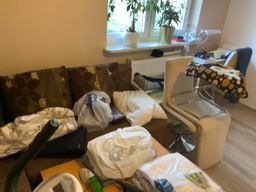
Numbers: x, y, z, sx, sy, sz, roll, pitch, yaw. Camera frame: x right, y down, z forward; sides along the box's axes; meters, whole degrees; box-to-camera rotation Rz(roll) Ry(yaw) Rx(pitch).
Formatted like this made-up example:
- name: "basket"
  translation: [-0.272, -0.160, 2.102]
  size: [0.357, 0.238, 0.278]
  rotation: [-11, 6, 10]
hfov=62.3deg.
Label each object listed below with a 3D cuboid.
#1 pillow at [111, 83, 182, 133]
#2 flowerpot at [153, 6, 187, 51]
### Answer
- name: "pillow"
  translation: [0.170, 0.090, 2.140]
  size: [0.490, 0.200, 0.500]
  rotation: [-12, 32, -30]
- name: "flowerpot"
  translation: [0.540, -0.890, 2.800]
  size: [0.270, 0.520, 0.250]
  rotation: [-8, 30, -24]
